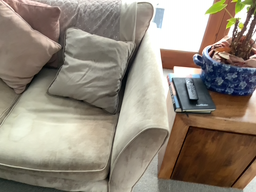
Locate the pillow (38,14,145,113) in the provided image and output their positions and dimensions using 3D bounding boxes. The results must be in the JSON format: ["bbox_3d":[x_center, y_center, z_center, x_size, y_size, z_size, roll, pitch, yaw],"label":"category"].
[{"bbox_3d":[-0.200,-0.150,1.200,0.420,0.420,0.130,55,34,-23],"label":"pillow"}]

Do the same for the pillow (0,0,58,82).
[{"bbox_3d":[-0.650,-0.340,1.200,0.460,0.440,0.150,25,61,-6],"label":"pillow"}]

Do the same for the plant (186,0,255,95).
[{"bbox_3d":[0.510,-0.340,0.920,0.360,0.590,0.310,7,44,4],"label":"plant"}]
